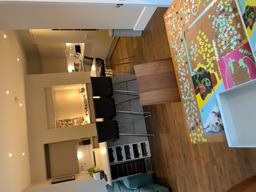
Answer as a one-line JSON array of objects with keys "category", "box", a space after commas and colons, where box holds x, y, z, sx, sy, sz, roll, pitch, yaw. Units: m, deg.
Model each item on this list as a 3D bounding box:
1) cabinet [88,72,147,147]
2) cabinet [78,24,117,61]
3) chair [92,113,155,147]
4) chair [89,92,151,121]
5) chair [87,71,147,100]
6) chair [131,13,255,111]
[{"category": "cabinet", "box": [-0.270, 0.300, 4.610, 0.680, 0.960, 1.430, 137, 125, -69]}, {"category": "cabinet", "box": [-0.970, -1.580, 6.430, 1.350, 0.940, 0.520, 140, 123, -70]}, {"category": "chair", "box": [-0.090, 0.610, 3.960, 0.410, 1.060, 0.450, 157, 106, -72]}, {"category": "chair", "box": [-0.160, 0.200, 4.050, 0.420, 1.060, 0.410, 157, 106, -72]}, {"category": "chair", "box": [-0.220, -0.200, 4.120, 0.430, 1.060, 0.410, 157, 106, -72]}, {"category": "chair", "box": [0.590, -0.230, 1.610, 0.570, 0.950, 0.510, 144, 119, -70]}]
